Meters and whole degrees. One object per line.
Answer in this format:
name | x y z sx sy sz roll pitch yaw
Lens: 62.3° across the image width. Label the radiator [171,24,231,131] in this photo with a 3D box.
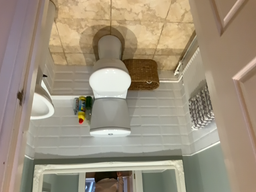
radiator | 0.560 -0.110 1.800 0.090 0.640 0.700 0 156 -8
